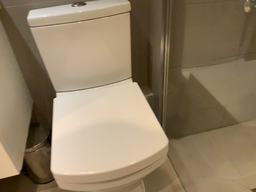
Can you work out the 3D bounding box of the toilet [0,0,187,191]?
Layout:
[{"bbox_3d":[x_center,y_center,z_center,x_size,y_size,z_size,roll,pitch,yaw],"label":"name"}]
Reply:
[{"bbox_3d":[-0.120,0.080,0.870,0.400,0.760,0.590,-11,37,-10],"label":"toilet"}]
